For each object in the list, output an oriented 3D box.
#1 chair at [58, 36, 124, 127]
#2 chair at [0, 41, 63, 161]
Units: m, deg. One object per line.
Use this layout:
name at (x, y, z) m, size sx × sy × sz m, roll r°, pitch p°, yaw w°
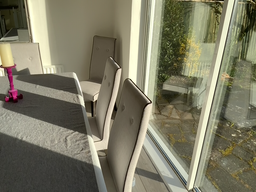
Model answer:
chair at (-0.460, -0.230, 2.820) m, size 0.510 × 0.990 × 0.630 m, roll 16°, pitch 27°, yaw 27°
chair at (-1.020, 0.010, 2.190) m, size 0.500 × 1.010 × 0.620 m, roll -8°, pitch 26°, yaw -23°
